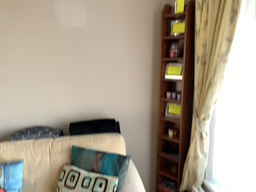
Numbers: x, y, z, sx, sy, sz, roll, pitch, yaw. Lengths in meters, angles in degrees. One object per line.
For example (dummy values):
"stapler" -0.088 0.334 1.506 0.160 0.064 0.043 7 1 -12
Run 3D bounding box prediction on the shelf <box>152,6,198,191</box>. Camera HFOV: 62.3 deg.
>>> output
"shelf" 0.410 0.220 1.940 0.270 1.890 0.240 8 12 37

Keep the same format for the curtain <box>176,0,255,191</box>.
"curtain" 0.560 -0.080 1.510 0.130 1.900 0.680 -1 10 -7

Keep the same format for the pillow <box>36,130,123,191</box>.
"pillow" -0.350 0.600 1.470 0.620 0.610 0.210 -15 -25 31
